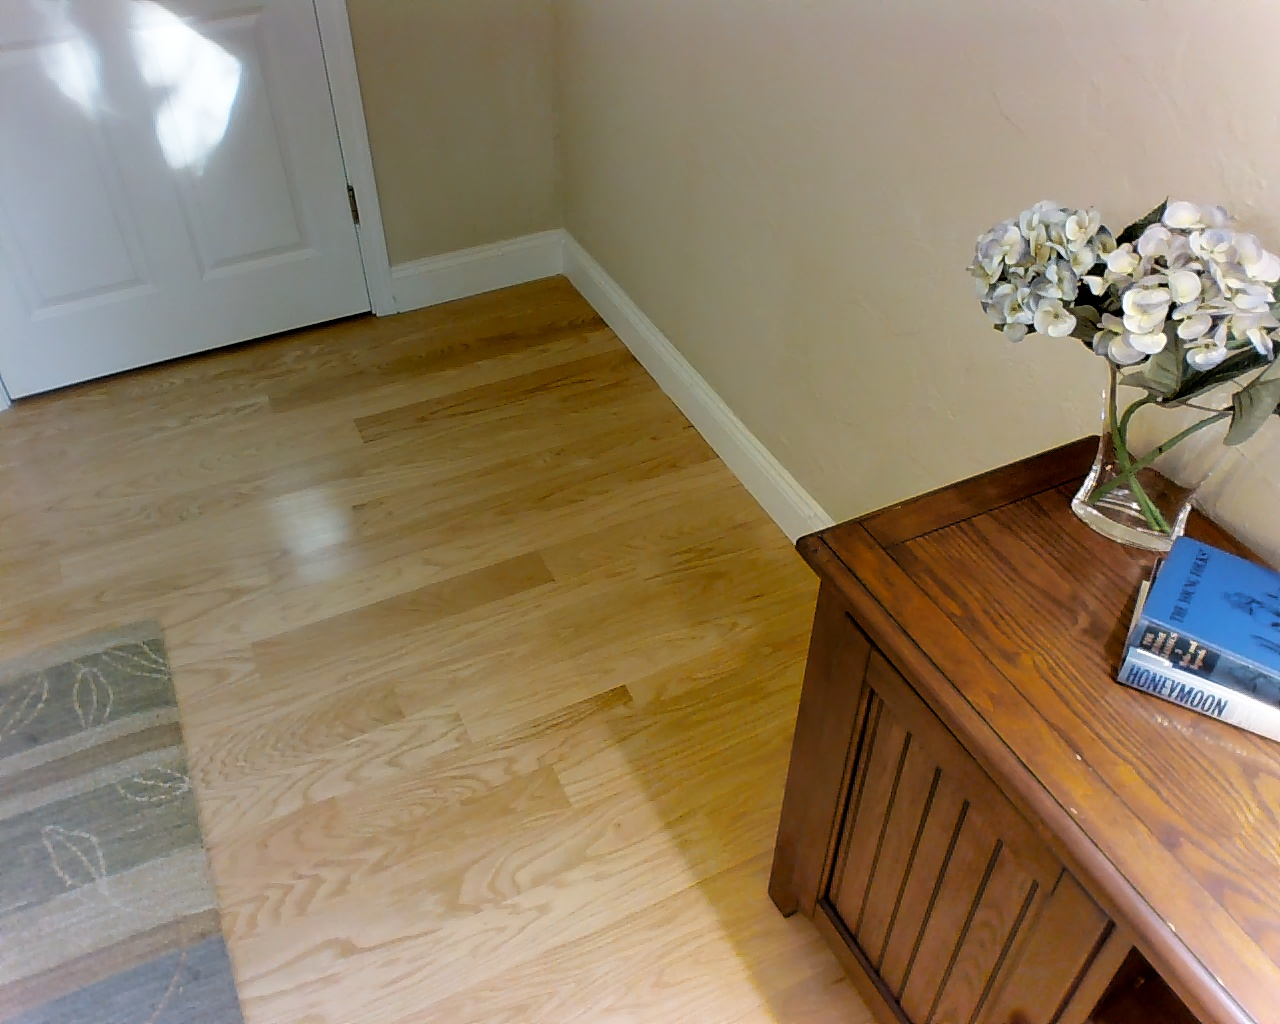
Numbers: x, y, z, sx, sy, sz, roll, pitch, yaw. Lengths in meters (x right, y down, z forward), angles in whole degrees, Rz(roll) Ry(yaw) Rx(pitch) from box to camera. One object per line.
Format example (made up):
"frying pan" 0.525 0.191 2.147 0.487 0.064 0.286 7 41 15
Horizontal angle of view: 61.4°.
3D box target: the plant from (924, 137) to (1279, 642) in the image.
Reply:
"plant" 0.580 -0.110 1.070 0.490 0.370 0.250 13 43 13

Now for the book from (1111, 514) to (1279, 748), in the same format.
"book" 0.630 0.130 1.060 0.260 0.070 0.200 22 46 22
